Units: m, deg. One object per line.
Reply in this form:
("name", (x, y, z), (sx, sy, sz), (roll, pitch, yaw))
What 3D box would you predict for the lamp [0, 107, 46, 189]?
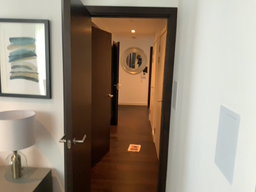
("lamp", (-0.980, 0.420, 1.850), (0.340, 0.560, 0.420), (2, 10, 2))
